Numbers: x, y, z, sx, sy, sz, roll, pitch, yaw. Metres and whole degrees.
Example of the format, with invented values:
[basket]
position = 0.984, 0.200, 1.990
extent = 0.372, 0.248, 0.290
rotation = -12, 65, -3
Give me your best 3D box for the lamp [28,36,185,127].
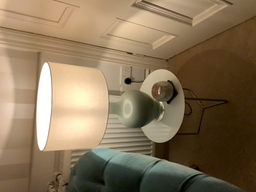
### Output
[lamp]
position = -0.130, -0.020, 1.160
extent = 0.520, 0.680, 0.330
rotation = -8, 81, 58
